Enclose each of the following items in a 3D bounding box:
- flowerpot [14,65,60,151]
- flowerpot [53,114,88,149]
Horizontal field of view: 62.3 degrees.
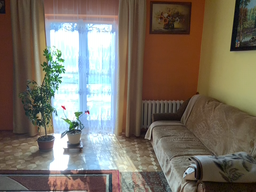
[{"bbox_3d":[-1.440,0.170,3.440,0.460,1.280,0.510,2,11,1],"label":"flowerpot"},{"bbox_3d":[-0.950,0.580,3.560,0.440,0.440,0.380,4,11,10],"label":"flowerpot"}]
